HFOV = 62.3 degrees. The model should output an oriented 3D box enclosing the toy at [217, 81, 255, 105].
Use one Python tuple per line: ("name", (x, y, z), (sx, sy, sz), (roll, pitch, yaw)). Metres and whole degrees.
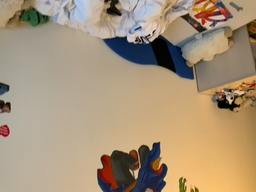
("toy", (1.120, -0.020, 1.840), (0.560, 0.070, 0.390), (7, 163, -33))
